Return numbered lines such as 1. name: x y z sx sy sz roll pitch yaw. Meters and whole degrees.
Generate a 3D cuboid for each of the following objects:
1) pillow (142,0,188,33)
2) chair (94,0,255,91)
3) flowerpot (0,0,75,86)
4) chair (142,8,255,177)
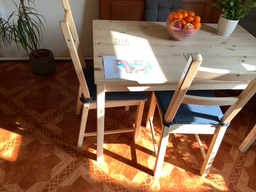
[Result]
1. pillow: 0.360 -0.840 2.100 0.400 0.310 0.170 -9 55 3
2. chair: 0.600 -0.600 2.200 1.850 0.820 0.620 -2 42 -12
3. flowerpot: -0.830 -0.670 1.950 0.590 1.110 0.440 -2 42 -11
4. chair: 0.420 0.030 1.370 0.460 0.940 0.550 2 42 -7
